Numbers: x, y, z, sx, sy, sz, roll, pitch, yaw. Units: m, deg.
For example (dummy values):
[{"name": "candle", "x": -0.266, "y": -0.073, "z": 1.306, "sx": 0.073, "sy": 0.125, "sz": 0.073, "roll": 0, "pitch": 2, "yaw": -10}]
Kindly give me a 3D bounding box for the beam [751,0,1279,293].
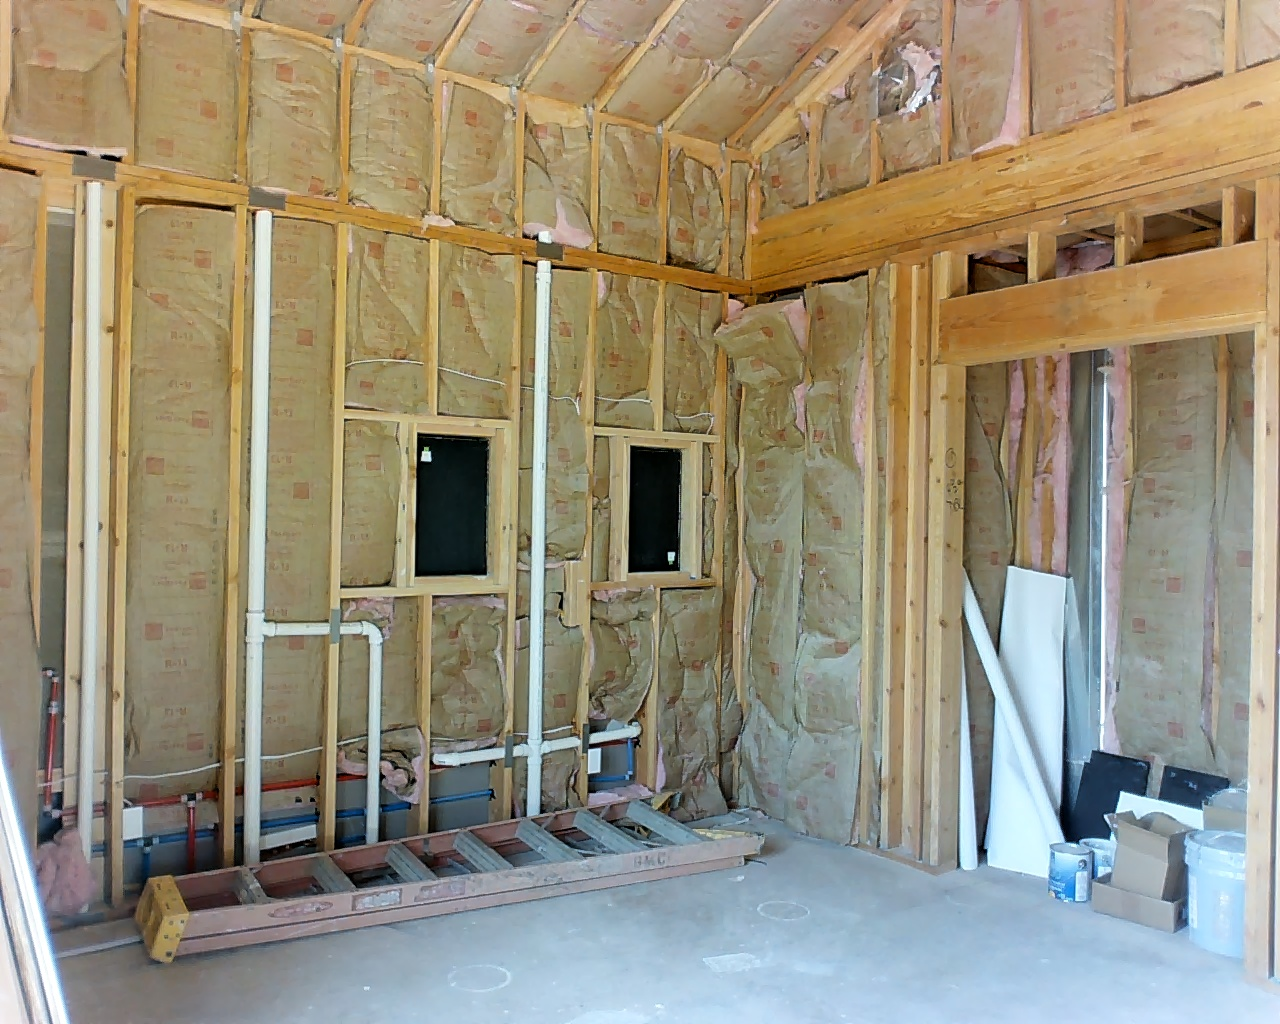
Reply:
[{"name": "beam", "x": 1.900, "y": -1.590, "z": 3.950, "sx": 0.160, "sy": 0.890, "sz": 4.270, "roll": 1, "pitch": 0, "yaw": -36}]
